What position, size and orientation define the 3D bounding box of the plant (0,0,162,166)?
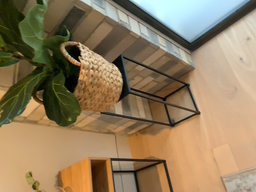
[{"bbox_3d":[-0.380,-0.110,0.790,0.560,0.720,0.440,-55,43,19],"label":"plant"}]
